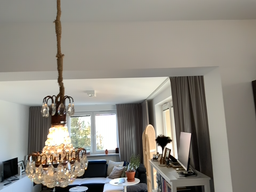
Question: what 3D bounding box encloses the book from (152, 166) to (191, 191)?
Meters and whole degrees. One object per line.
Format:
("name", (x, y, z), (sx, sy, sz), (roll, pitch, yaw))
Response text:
("book", (0.460, 1.060, 2.440), (0.220, 0.300, 0.980), (-2, -8, -2))
